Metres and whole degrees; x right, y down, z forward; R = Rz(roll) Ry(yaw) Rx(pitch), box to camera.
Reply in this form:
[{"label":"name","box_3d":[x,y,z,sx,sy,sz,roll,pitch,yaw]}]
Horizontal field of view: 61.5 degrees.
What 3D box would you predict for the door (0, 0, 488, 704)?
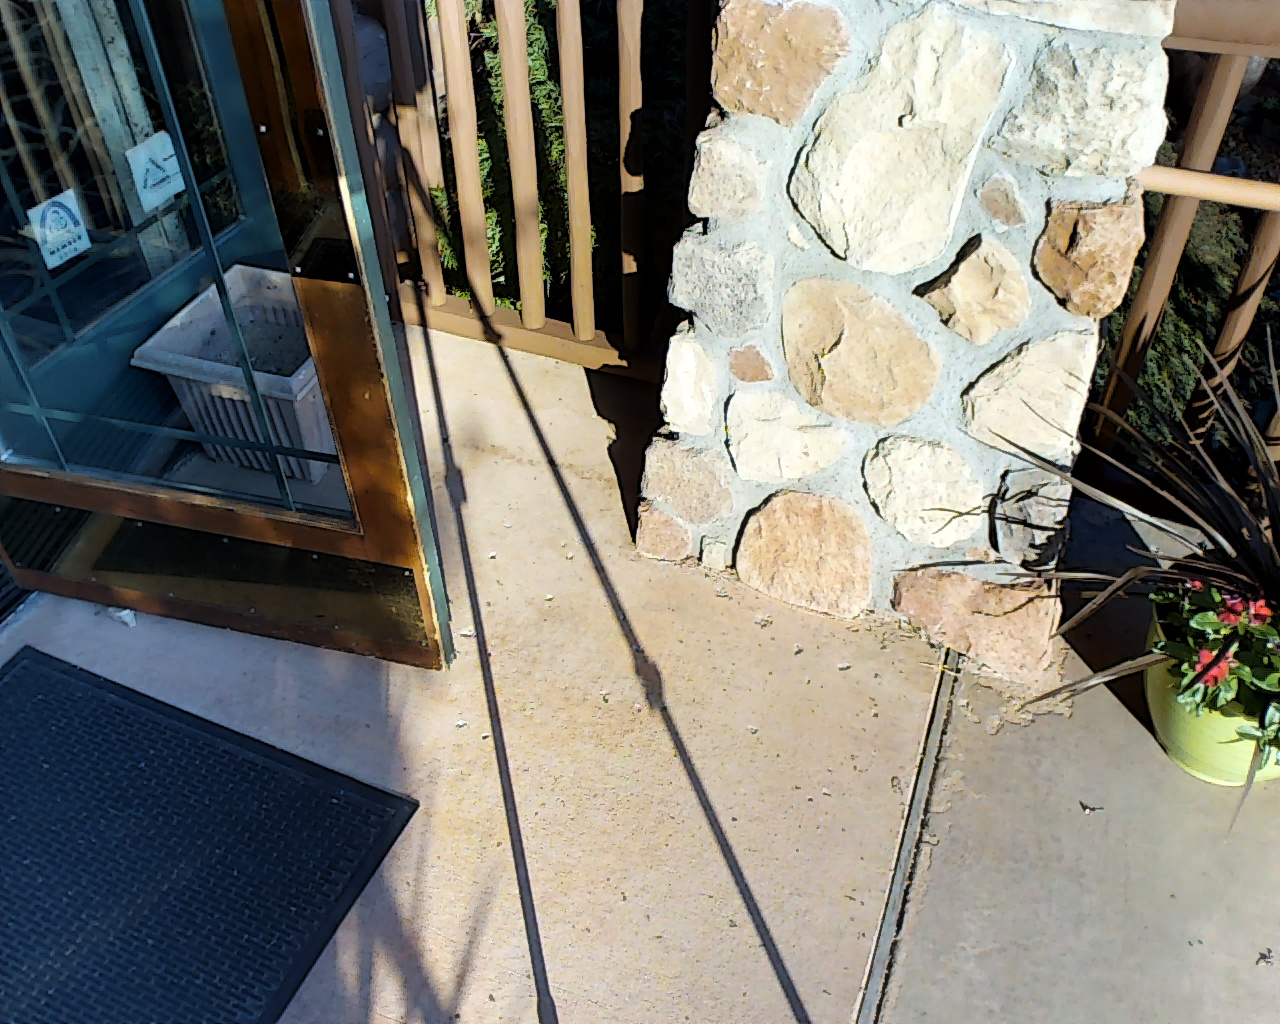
[{"label":"door","box_3d":[-0.790,-0.550,1.380,1.010,2.100,0.110,10,43,11]}]
